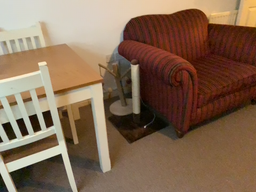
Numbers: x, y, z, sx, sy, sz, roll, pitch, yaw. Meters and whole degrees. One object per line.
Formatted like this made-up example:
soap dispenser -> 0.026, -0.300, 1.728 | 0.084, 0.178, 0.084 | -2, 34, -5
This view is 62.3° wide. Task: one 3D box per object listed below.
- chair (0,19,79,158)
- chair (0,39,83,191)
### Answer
chair -> -0.730, -0.070, 1.690 | 0.400, 0.910, 0.500 | -18, 34, -25
chair -> -0.600, 0.200, 1.250 | 0.400, 0.890, 0.510 | -17, 34, -24
